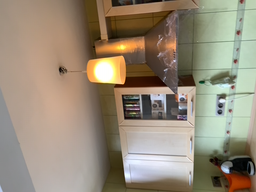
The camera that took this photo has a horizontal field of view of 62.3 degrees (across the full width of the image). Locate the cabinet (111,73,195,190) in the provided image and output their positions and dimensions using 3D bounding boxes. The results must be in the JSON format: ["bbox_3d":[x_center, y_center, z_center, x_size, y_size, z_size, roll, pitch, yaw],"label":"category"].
[{"bbox_3d":[0.280,0.390,2.230,0.330,0.730,1.190,-68,-25,-64],"label":"cabinet"}]
